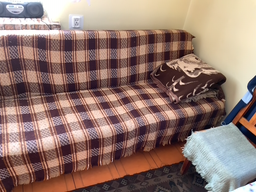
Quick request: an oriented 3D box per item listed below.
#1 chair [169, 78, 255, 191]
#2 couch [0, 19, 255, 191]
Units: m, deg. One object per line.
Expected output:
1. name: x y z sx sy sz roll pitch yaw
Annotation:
1. chair: 0.780 0.360 1.490 0.660 0.850 0.410 -10 40 -27
2. couch: -0.150 -0.060 1.840 2.060 0.840 1.000 -9 39 -26
